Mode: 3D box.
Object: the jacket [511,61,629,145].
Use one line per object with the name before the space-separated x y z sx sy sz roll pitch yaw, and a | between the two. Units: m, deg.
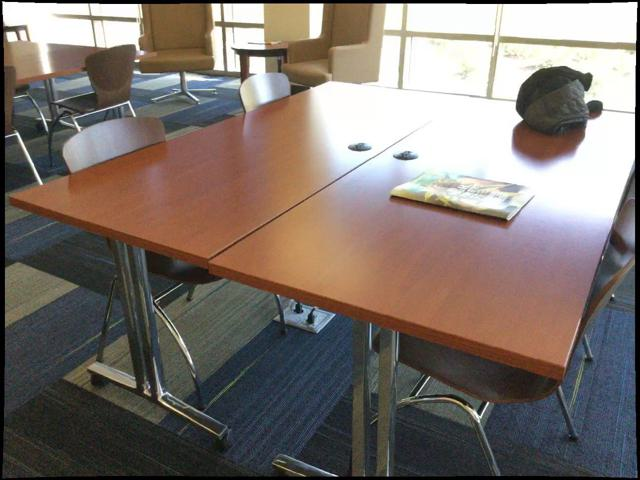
jacket | 0.967 -0.541 2.220 0.329 0.190 0.400 15 32 26
